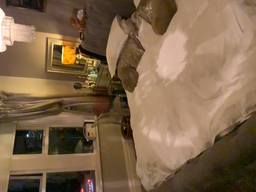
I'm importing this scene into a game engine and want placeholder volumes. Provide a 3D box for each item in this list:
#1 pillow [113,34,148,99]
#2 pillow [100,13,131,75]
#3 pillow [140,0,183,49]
[{"bbox_3d":[0.000,-0.360,2.660,0.210,0.490,0.600,11,137,-17],"label":"pillow"},{"bbox_3d":[-0.190,-0.680,2.820,0.160,0.430,0.660,8,138,-22],"label":"pillow"},{"bbox_3d":[0.330,-0.900,2.040,0.190,0.500,0.690,14,137,-12],"label":"pillow"}]
